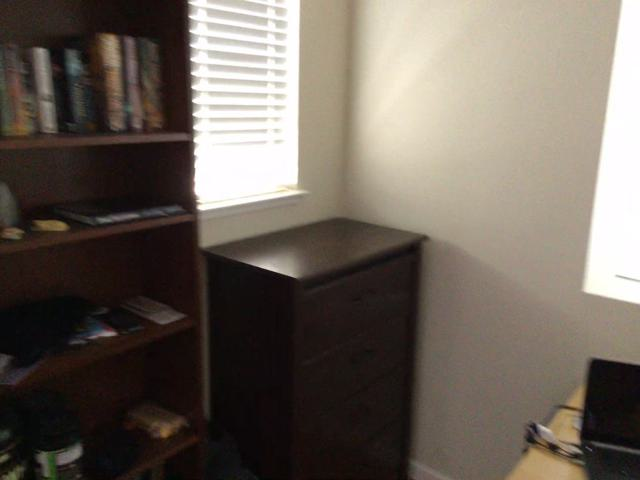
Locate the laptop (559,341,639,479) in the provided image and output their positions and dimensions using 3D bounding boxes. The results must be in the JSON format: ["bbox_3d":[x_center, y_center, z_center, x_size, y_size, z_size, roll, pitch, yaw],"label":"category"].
[{"bbox_3d":[0.850,0.500,1.520,0.380,0.260,0.450,7,13,22],"label":"laptop"}]

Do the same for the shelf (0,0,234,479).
[{"bbox_3d":[-0.680,0.270,1.530,0.330,2.030,0.910,12,16,38],"label":"shelf"}]

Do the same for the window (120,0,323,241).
[{"bbox_3d":[-0.300,-0.540,2.040,0.120,0.970,0.810,12,16,38],"label":"window"}]
